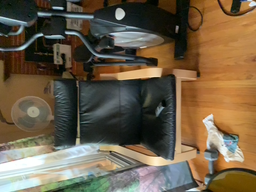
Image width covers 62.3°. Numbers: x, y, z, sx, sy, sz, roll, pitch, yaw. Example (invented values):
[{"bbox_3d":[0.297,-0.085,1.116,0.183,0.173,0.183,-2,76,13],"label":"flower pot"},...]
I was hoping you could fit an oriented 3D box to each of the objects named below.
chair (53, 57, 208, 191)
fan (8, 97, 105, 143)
[{"bbox_3d":[-0.010,0.150,1.700,0.820,0.930,0.730,3,93,55],"label":"chair"},{"bbox_3d":[-0.920,0.290,2.810,0.380,1.120,0.390,-45,55,46],"label":"fan"}]
